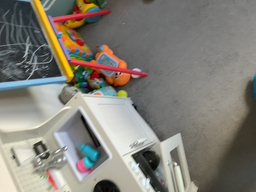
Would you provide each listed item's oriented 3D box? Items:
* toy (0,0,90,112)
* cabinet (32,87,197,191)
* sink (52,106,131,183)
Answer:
[{"bbox_3d":[-0.550,-0.260,0.930,0.390,0.400,0.530,-44,71,17],"label":"toy"},{"bbox_3d":[-0.040,0.320,1.040,0.310,0.480,0.650,-44,71,17],"label":"cabinet"},{"bbox_3d":[-0.160,0.200,0.940,0.180,0.180,0.250,-43,71,18],"label":"sink"}]
